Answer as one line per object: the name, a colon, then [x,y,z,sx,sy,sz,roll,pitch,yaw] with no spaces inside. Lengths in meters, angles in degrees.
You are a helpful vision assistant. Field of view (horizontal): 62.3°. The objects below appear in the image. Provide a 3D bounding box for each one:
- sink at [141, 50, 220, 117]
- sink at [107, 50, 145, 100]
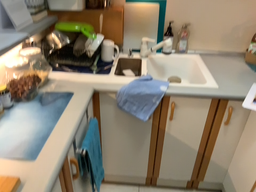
sink: [0.300,-0.110,1.410,0.410,0.220,0.500,3,32,2]
sink: [0.000,-0.150,1.380,0.210,0.150,0.410,3,32,2]
